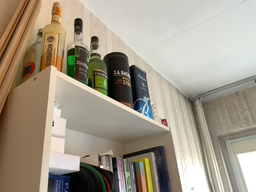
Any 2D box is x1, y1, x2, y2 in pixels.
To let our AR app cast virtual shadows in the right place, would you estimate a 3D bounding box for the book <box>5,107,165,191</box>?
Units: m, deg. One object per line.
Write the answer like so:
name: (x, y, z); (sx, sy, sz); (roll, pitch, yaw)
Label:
book: (-0.080, 0.270, 0.670); (0.210, 0.280, 0.500); (-19, -30, 25)
